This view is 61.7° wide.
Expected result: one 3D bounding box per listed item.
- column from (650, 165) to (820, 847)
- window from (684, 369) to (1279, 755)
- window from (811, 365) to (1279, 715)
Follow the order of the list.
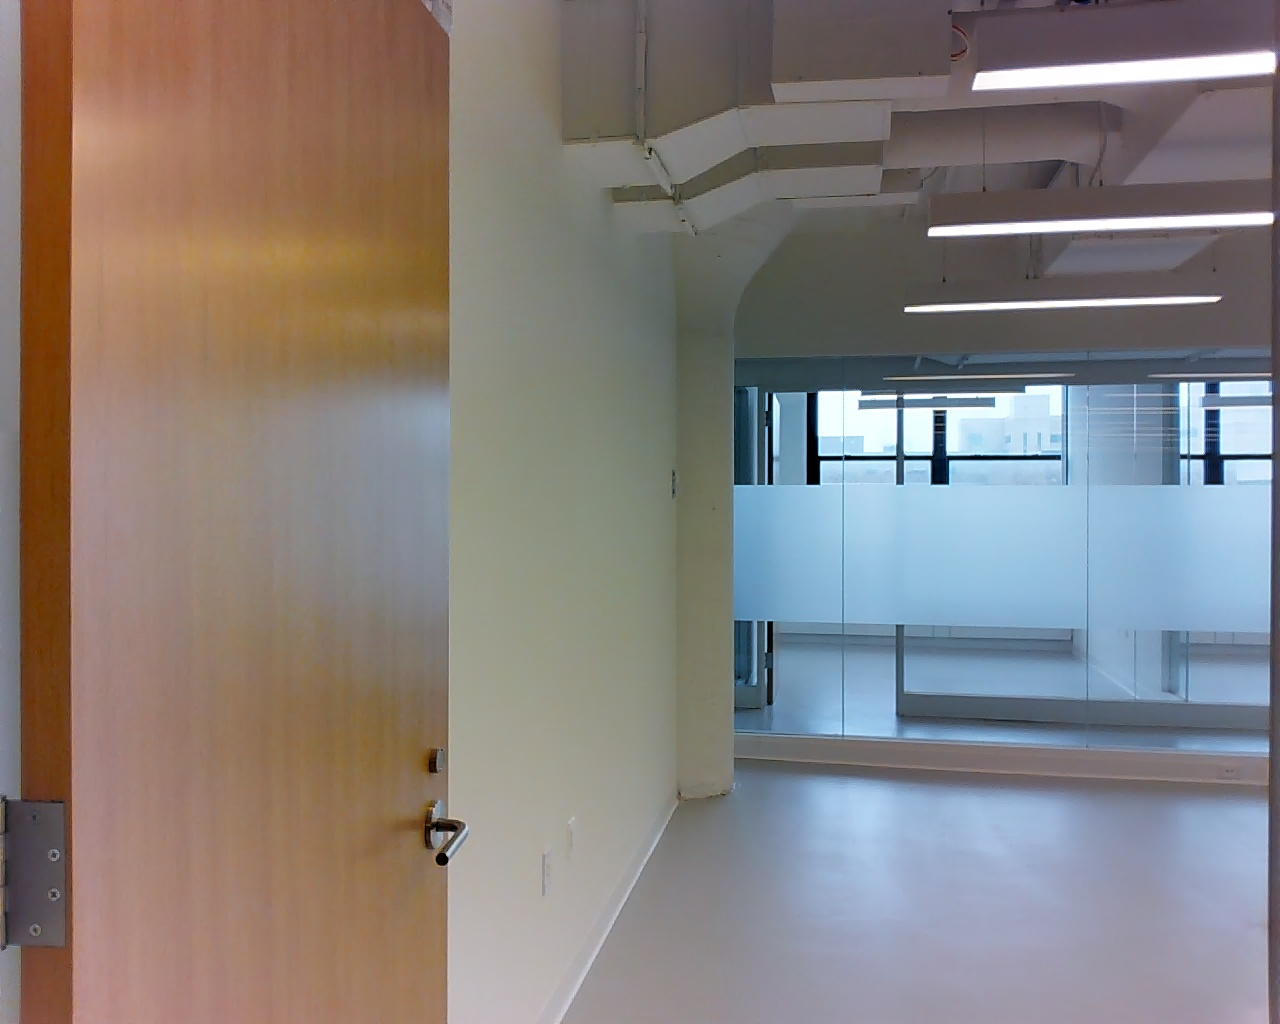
[{"bbox_3d":[0.520,-0.030,5.300,0.700,2.901,1.390,0,1,10],"label":"column"},{"bbox_3d":[2.529,0.250,5.650,4.609,1.970,0.100,0,1,10],"label":"window"},{"bbox_3d":[2.909,0.140,5.590,3.969,1.770,0.200,0,1,10],"label":"window"}]
